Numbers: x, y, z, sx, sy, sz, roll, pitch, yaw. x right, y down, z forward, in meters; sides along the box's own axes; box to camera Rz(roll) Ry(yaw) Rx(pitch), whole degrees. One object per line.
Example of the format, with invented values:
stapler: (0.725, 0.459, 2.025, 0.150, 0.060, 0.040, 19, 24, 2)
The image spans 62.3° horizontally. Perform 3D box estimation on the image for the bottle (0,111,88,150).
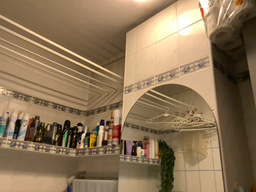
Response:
bottle: (-0.750, 0.200, 1.360, 0.130, 0.140, 1.120, -16, -28, 39)
